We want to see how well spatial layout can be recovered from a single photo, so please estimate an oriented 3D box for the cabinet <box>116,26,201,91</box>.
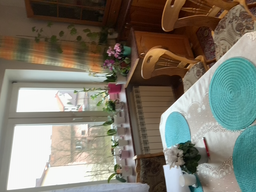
[{"bbox_3d":[0.350,-0.450,2.840,0.740,0.850,0.450,119,147,-57],"label":"cabinet"}]
